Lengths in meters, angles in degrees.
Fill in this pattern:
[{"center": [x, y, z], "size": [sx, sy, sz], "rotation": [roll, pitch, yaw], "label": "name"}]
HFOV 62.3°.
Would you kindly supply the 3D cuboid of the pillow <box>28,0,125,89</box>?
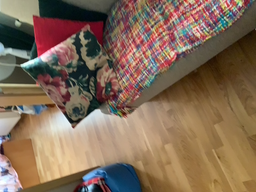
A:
[{"center": [-0.310, -0.290, 1.270], "size": [0.250, 0.400, 0.420], "rotation": [-36, 67, 39], "label": "pillow"}]
